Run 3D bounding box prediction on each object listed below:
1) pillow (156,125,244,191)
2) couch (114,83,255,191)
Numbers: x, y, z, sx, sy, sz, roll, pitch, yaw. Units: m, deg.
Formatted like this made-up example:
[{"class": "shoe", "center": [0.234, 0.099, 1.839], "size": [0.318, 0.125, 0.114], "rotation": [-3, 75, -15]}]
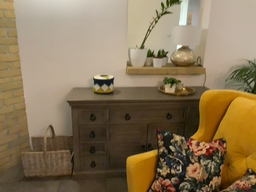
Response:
[{"class": "pillow", "center": [0.440, 0.470, 1.310], "size": [0.420, 0.390, 0.340], "rotation": [11, 19, 26]}, {"class": "couch", "center": [0.540, 0.580, 1.220], "size": [0.970, 1.070, 0.860], "rotation": [-7, 19, -28]}]
